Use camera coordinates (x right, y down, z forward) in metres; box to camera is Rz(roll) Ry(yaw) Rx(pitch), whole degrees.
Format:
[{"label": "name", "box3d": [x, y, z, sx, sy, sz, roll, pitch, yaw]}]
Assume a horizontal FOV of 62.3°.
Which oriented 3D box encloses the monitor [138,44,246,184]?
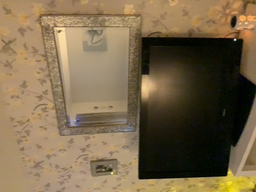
[{"label": "monitor", "box3d": [0.400, 0.130, 1.400, 0.070, 0.650, 0.920, -116, 25, -77]}]
